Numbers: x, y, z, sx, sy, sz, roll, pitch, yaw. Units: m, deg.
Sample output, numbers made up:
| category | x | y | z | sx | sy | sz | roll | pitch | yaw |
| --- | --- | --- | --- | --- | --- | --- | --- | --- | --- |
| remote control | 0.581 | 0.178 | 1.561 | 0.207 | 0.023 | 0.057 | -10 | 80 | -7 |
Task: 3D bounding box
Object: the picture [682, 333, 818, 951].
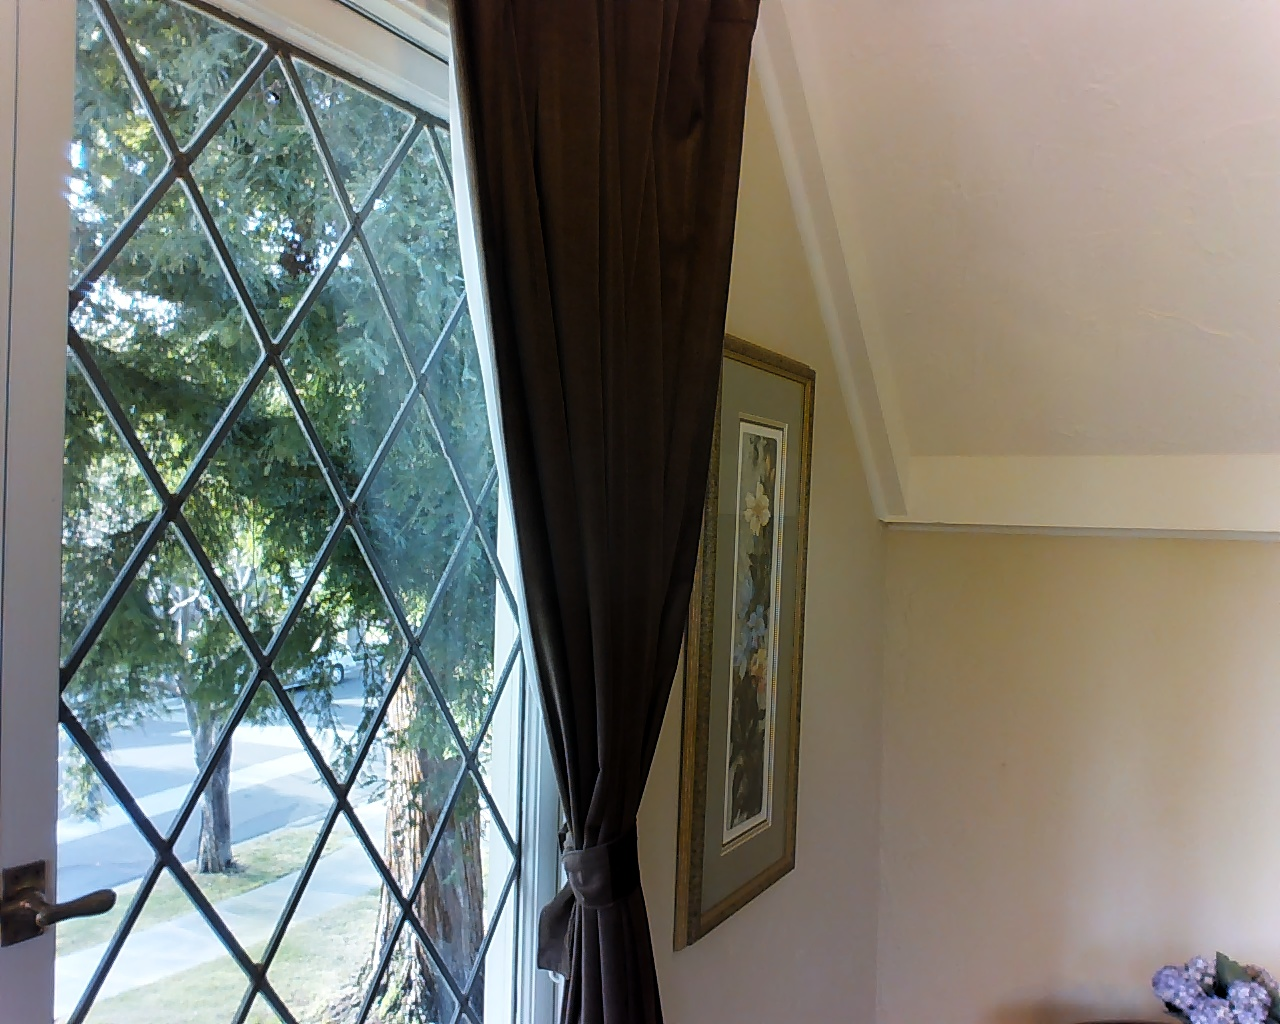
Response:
| category | x | y | z | sx | sy | sz | roll | pitch | yaw |
| --- | --- | --- | --- | --- | --- | --- | --- | --- | --- |
| picture | 0.180 | 0.180 | 1.660 | 0.040 | 0.850 | 0.390 | 1 | 0 | 29 |
